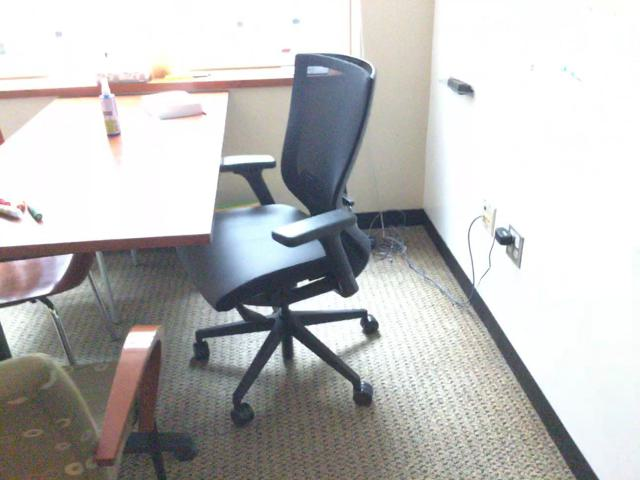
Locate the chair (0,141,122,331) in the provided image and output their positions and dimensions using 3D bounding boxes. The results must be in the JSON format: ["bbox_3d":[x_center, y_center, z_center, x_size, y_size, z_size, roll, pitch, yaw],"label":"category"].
[{"bbox_3d":[-0.960,-0.030,1.790,0.500,0.430,0.470,-2,24,-2],"label":"chair"}]

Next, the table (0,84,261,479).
[{"bbox_3d":[-0.720,0.010,2.100,0.910,0.870,1.480,-2,24,-3],"label":"table"}]

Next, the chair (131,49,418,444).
[{"bbox_3d":[-0.150,-0.040,1.850,0.660,1.000,0.720,-5,24,-10],"label":"chair"}]

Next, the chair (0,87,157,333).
[{"bbox_3d":[-1.100,-0.150,2.380,0.610,0.820,0.650,-2,24,-2],"label":"chair"}]

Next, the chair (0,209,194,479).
[{"bbox_3d":[-0.630,0.300,1.070,0.650,0.510,0.600,-2,24,-3],"label":"chair"}]

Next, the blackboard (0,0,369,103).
[{"bbox_3d":[-0.820,-1.100,2.600,2.020,0.830,0.520,-2,24,-3],"label":"blackboard"}]
